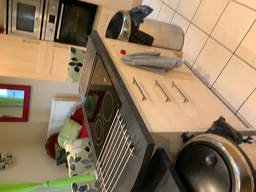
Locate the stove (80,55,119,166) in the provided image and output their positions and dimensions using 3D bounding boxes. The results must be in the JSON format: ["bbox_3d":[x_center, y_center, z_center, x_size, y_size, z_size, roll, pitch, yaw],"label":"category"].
[{"bbox_3d":[-0.230,0.090,1.470,0.540,0.010,0.550,62,140,46],"label":"stove"}]

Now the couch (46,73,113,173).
[{"bbox_3d":[-0.990,0.550,4.000,0.710,0.820,1.770,59,138,48],"label":"couch"}]

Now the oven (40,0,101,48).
[{"bbox_3d":[-0.830,-1.130,2.930,0.600,0.660,0.610,63,140,45],"label":"oven"}]
